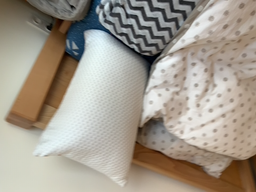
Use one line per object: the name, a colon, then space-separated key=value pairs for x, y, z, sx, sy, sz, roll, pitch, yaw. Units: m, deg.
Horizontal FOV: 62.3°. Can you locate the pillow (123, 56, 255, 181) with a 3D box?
pillow: x=0.410 y=0.190 z=1.210 sx=0.690 sy=0.310 sz=0.510 roll=25 pitch=137 yaw=-24

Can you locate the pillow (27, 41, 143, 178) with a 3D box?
pillow: x=-0.140 y=0.060 z=0.870 sx=0.330 sy=0.420 sz=0.220 roll=27 pitch=137 yaw=-26
